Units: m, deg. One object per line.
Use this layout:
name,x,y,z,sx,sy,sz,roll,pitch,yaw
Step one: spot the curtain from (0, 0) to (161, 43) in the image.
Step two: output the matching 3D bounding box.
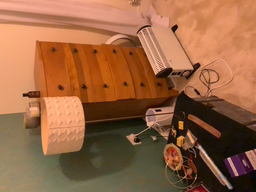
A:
curtain,-0.710,-0.690,1.810,0.240,2.220,0.280,44,131,51
